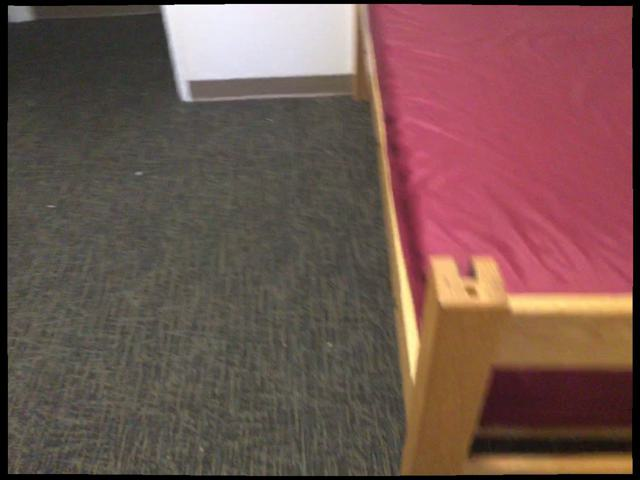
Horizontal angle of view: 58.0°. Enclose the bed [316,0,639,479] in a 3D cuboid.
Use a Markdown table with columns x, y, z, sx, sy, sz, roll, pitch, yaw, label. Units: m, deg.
| x | y | z | sx | sy | sz | roll | pitch | yaw | label |
| --- | --- | --- | --- | --- | --- | --- | --- | --- | --- |
| 0.619 | -0.311 | 1.640 | 1.168 | 0.941 | 2.292 | -3 | 42 | -1 | bed |
